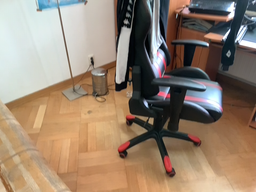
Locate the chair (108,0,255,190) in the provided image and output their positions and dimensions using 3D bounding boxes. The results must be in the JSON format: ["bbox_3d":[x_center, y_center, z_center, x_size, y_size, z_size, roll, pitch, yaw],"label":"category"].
[{"bbox_3d":[0.310,-0.170,1.390,0.620,1.380,0.700,10,36,14],"label":"chair"}]

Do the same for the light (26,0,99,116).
[{"bbox_3d":[-0.610,-0.550,2.010,0.360,1.460,0.440,-29,44,-35],"label":"light"}]
